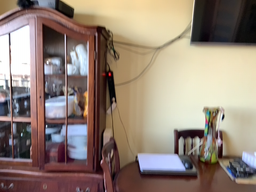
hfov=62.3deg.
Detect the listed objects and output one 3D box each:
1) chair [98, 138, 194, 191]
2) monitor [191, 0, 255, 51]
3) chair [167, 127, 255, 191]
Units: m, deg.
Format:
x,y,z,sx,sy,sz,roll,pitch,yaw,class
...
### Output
x,y,z,sx,sy,sz,roll,pitch,yaw,class
0.090,0.800,1.370,0.490,0.910,0.440,3,8,4,chair
0.960,-0.630,1.630,0.910,0.540,0.040,0,7,2,monitor
0.580,0.790,1.630,0.440,0.970,0.530,2,8,-2,chair
